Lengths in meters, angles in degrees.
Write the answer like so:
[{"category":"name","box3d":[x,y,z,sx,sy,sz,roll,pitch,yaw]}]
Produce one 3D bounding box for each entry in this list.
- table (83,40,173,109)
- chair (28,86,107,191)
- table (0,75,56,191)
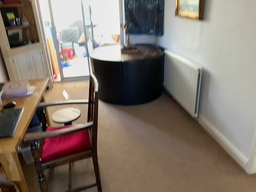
[{"category":"table","box3d":[-0.090,-0.470,3.800,1.310,0.760,1.300,-6,24,-10]},{"category":"chair","box3d":[-0.500,0.400,1.860,0.480,0.790,0.510,-9,25,-14]},{"category":"table","box3d":[-1.290,0.410,1.950,0.970,0.750,1.310,-6,24,-10]}]
